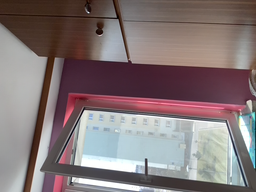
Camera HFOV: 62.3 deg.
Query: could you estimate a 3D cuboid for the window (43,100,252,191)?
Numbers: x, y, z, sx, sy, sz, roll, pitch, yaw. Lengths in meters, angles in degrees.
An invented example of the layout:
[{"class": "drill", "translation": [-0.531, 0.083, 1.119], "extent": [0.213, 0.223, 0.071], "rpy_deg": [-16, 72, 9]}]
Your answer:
[{"class": "window", "translation": [0.070, 1.230, 1.610], "extent": [0.170, 1.580, 2.290], "rpy_deg": [63, -148, -77]}]
